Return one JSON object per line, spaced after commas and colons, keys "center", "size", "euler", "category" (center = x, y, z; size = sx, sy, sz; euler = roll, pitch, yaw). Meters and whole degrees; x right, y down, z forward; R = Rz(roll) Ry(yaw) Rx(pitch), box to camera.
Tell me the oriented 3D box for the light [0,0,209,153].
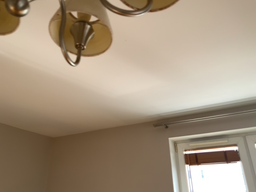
{"center": [-0.180, -0.250, 0.680], "size": [0.620, 0.650, 0.490], "euler": [-29, -111, -13], "category": "light"}
